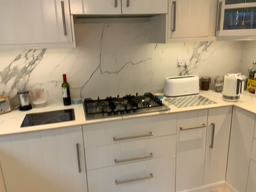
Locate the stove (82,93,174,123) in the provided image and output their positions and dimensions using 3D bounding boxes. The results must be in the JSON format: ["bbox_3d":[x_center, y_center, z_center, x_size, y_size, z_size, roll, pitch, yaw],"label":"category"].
[{"bbox_3d":[-0.030,0.090,2.050,0.790,0.050,0.500,-6,16,-14],"label":"stove"}]
